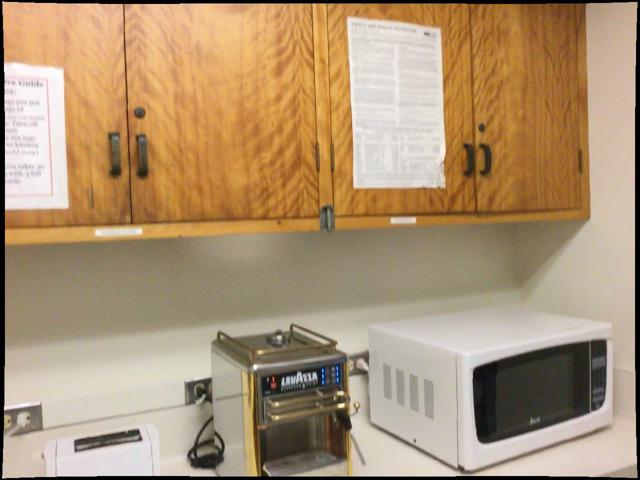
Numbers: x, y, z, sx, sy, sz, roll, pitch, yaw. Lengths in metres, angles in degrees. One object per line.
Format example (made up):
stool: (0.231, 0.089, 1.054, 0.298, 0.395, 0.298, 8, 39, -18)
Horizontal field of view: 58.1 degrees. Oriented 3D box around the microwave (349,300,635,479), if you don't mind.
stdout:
microwave: (0.489, 0.401, 1.700, 0.629, 0.311, 0.490, -6, 3, -26)
